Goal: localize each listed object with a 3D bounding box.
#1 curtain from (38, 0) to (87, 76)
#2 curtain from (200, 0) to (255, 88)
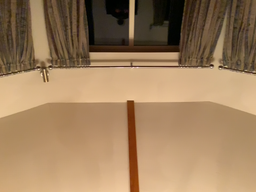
[{"bbox_3d":[-0.690,-0.810,2.260,0.380,1.160,0.290,-1,-156,-3],"label":"curtain"},{"bbox_3d":[1.140,-1.100,2.090,0.470,2.000,0.290,16,-152,31],"label":"curtain"}]
